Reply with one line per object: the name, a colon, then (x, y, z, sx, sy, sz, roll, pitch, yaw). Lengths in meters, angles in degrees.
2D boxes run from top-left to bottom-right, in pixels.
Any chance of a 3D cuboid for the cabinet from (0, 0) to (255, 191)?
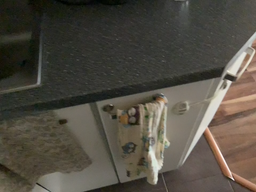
cabinet: (0.030, -0.020, 0.970, 0.890, 0.860, 0.570, -12, 54, -5)
